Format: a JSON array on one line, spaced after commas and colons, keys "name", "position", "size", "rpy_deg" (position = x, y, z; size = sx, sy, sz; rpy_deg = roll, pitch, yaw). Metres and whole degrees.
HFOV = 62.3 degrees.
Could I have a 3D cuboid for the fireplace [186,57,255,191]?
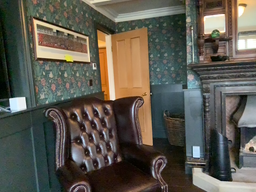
[{"name": "fireplace", "position": [1.520, 0.220, 2.370], "size": [1.630, 1.260, 1.190], "rpy_deg": [-2, 6, 15]}]
